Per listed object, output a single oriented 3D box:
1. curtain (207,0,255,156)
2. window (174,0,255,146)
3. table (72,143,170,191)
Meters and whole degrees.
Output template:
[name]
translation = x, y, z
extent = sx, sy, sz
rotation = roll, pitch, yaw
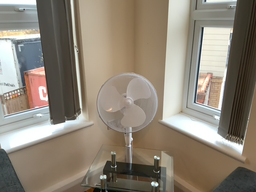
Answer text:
[curtain]
translation = 0.630, -0.380, 1.130
extent = 0.090, 1.500, 0.210
rotation = -17, 25, -37
[window]
translation = 0.620, -0.500, 1.480
extent = 0.070, 1.650, 0.590
rotation = -15, 24, -34
[table]
translation = -0.020, 0.670, 1.550
extent = 0.580, 0.410, 0.500
rotation = 1, 20, 5
